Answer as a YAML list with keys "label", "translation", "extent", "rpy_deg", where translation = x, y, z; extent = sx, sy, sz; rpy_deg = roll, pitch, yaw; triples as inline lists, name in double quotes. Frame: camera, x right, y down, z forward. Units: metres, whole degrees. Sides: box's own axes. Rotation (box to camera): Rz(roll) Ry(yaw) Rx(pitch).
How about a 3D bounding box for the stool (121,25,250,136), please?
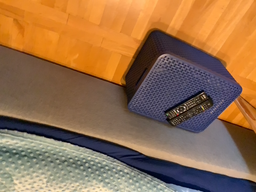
- label: "stool"
  translation: [0.250, -0.060, 1.050]
  extent: [0.460, 0.250, 0.340]
  rpy_deg: [19, 125, -18]
